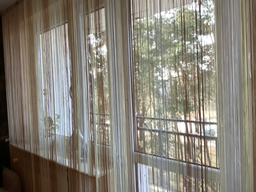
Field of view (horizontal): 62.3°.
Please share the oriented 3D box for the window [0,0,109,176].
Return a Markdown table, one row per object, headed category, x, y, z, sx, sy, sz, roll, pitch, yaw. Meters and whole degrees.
| category | x | y | z | sx | sy | sz | roll | pitch | yaw |
| --- | --- | --- | --- | --- | --- | --- | --- | --- | --- |
| window | -0.890 | -0.300 | 2.040 | 1.910 | 1.630 | 0.110 | 0 | 3 | 43 |
